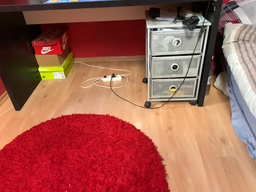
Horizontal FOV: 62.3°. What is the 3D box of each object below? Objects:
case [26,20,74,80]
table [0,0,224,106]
[{"bbox_3d":[-0.710,-0.450,2.020,0.220,0.390,0.470,-2,35,2],"label":"case"},{"bbox_3d":[-0.200,-0.420,1.700,1.520,0.680,0.740,-1,36,4],"label":"table"}]
